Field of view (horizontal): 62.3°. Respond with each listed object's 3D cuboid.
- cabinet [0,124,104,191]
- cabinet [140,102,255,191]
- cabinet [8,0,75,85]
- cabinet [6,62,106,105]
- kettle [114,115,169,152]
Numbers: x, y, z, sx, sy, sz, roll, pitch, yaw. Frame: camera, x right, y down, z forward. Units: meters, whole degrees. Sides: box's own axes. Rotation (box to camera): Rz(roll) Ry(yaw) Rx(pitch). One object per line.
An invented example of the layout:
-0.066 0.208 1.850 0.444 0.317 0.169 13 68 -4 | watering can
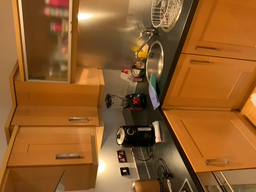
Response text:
-0.580 0.480 1.720 0.380 0.690 0.330 -108 26 -51 | cabinet
0.690 0.510 1.850 0.660 0.920 0.600 -108 26 -51 | cabinet
-0.650 -0.620 1.670 0.340 0.430 1.020 -108 26 -51 | cabinet
-0.660 -0.120 2.050 0.340 0.830 0.220 -108 26 -51 | cabinet
0.110 0.340 1.930 0.210 0.420 0.240 -110 27 -53 | kettle
